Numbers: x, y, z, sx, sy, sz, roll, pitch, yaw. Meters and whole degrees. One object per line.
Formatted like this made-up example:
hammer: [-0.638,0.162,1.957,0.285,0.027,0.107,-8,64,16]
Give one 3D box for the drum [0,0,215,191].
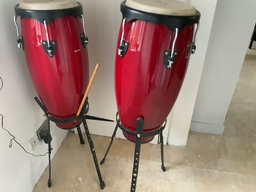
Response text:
drum: [-0.110,0.030,1.250,0.900,1.180,0.600,11,34,14]
